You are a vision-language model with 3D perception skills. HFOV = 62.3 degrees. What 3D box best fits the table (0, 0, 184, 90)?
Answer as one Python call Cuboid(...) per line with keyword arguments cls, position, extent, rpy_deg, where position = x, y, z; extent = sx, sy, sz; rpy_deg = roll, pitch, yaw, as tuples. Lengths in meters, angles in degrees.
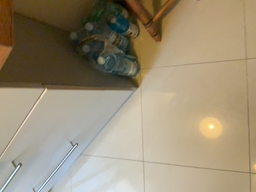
Cuboid(cls="table", position=(-0.150, -0.290, 0.770), extent=(0.460, 0.850, 0.300), rpy_deg=(47, 109, 17))
